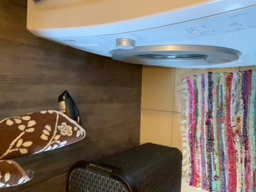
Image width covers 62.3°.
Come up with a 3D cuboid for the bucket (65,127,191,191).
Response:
[{"bbox_3d":[0.040,0.470,1.070,0.330,0.630,0.490,7,95,32],"label":"bucket"}]
